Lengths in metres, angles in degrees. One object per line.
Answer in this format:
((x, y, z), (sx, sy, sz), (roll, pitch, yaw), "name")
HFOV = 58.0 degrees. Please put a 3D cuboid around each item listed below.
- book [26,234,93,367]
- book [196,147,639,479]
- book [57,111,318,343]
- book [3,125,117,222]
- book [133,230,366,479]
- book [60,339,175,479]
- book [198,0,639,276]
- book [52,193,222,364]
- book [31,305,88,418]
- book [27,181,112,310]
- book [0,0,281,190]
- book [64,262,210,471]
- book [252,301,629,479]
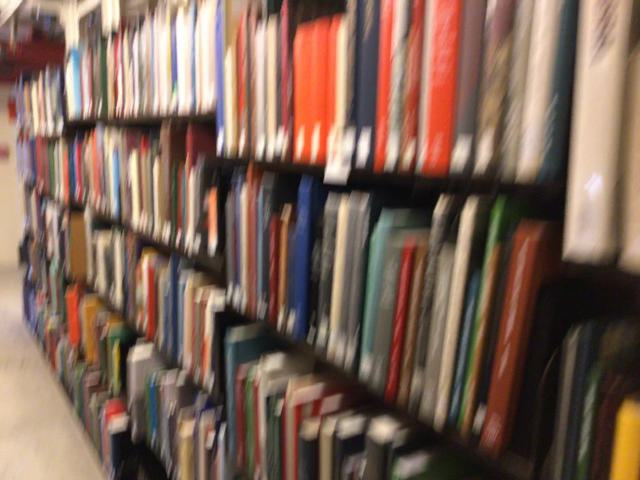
((-1.580, 0.340, 3.490), (0.240, 0.650, 0.530), (-6, 14, -34), "book")
((0.070, 0.030, 1.160), (0.260, 0.370, 0.980), (-6, 14, -34), "book")
((-0.640, -0.190, 2.190), (0.290, 0.550, 1.770), (-6, 14, -34), "book")
((-1.640, -0.460, 3.540), (0.320, 0.430, 1.560), (-6, 14, -34), "book")
((-0.260, 0.470, 1.710), (0.310, 0.850, 0.800), (-6, 14, -34), "book")
((-0.930, 0.830, 2.550), (0.150, 0.390, 1.180), (-6, 14, -34), "book")
((0.120, -0.280, 1.010), (0.290, 0.430, 0.980), (-6, 14, -34), "book")
((-0.800, 0.080, 2.370), (0.310, 0.390, 1.180), (-6, 14, -34), "book")
((-1.500, 0.670, 3.310), (0.150, 0.410, 0.660), (-6, 14, -34), "book")
((-1.440, -0.010, 3.280), (0.240, 0.550, 0.880), (-6, 14, -34), "book")
((-1.190, -0.700, 2.710), (0.230, 0.500, 3.500), (-6, 14, -34), "book")
((-0.850, 0.470, 2.550), (0.270, 0.480, 1.140), (-6, 14, -34), "book")
((0.150, 0.430, 1.100), (0.260, 0.420, 0.680), (-6, 14, -34), "book")
